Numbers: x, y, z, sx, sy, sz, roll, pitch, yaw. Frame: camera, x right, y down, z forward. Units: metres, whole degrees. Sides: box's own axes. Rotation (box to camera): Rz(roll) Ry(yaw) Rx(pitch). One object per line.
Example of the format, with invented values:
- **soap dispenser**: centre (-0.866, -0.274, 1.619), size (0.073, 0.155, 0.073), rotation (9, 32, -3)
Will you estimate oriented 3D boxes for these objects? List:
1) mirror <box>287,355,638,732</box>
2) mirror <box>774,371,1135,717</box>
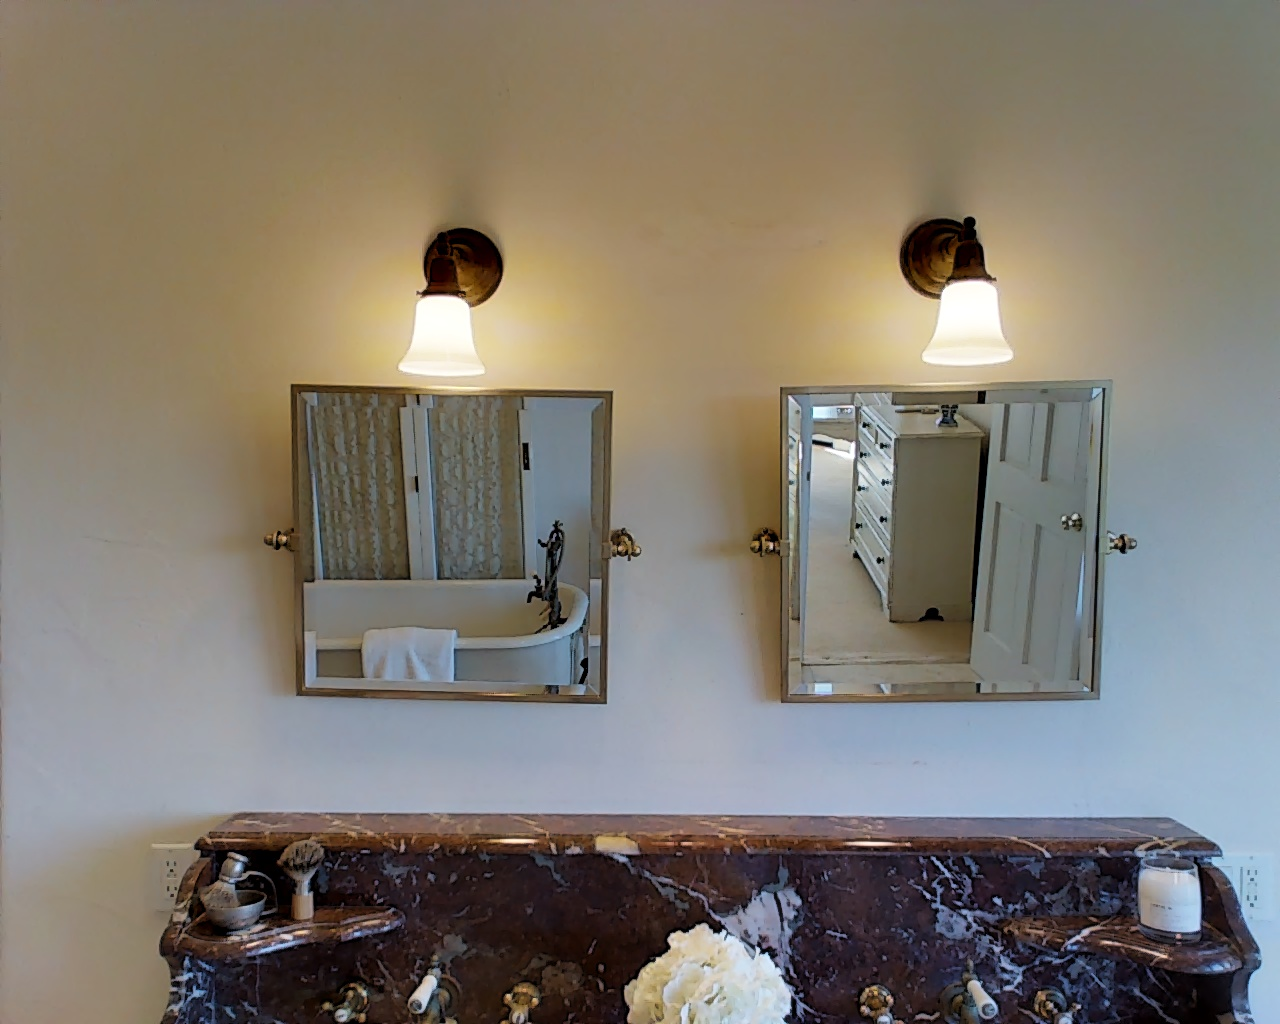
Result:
- **mirror**: centre (-0.280, 0.050, 1.740), size (0.550, 0.590, 0.110), rotation (0, 1, 2)
- **mirror**: centre (0.490, 0.050, 1.710), size (0.540, 0.530, 0.120), rotation (0, 1, 2)
